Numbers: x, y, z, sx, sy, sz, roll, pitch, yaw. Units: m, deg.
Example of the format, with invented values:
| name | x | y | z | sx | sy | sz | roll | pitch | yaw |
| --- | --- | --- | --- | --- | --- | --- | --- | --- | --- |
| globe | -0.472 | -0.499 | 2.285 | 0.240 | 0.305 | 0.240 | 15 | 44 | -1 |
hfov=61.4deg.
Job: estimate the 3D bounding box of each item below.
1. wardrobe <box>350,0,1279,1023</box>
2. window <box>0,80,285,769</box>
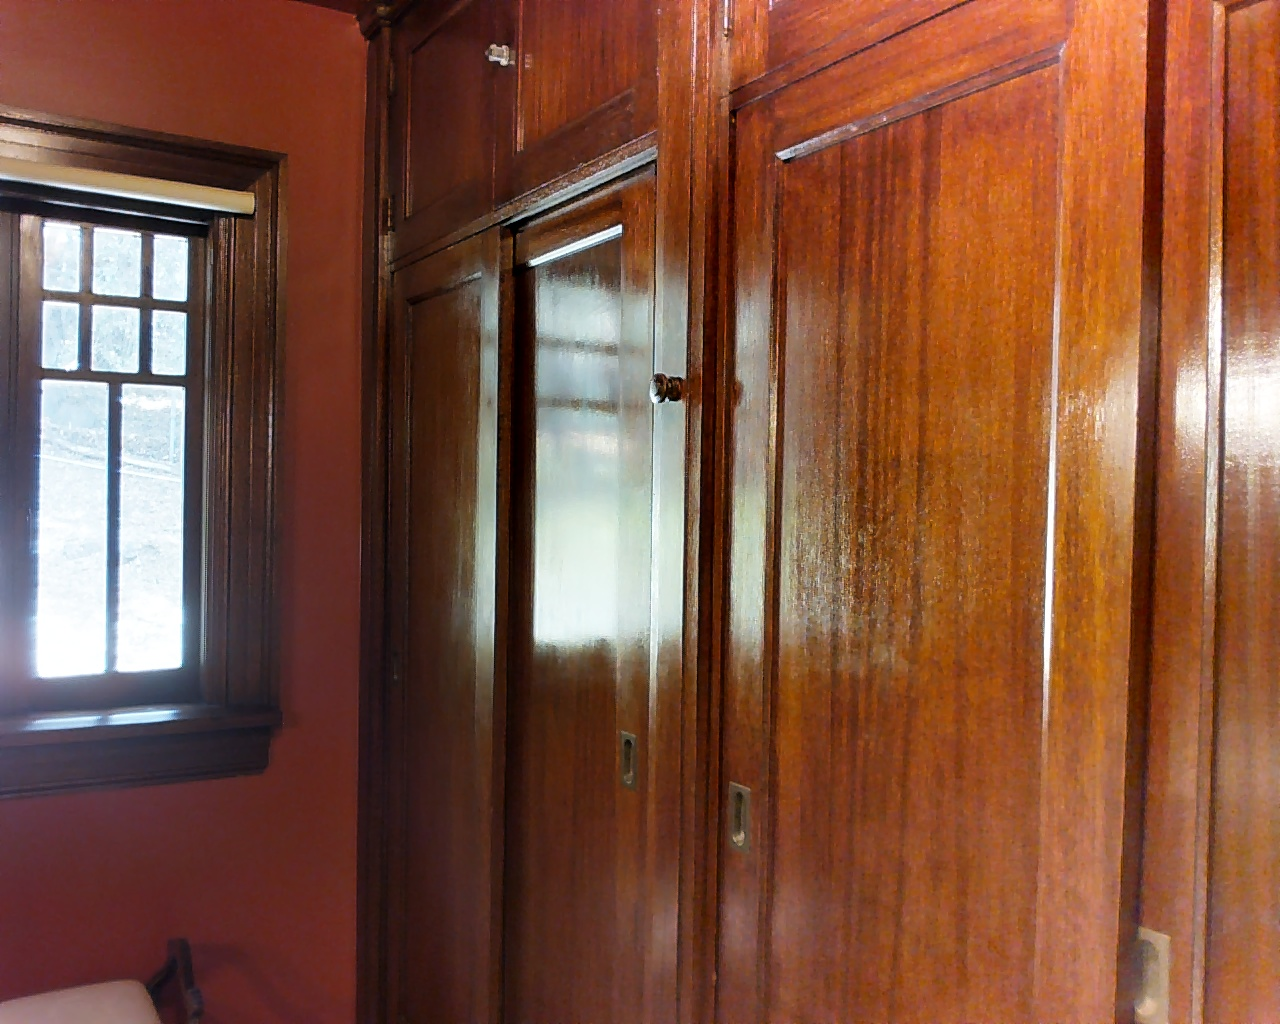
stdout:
| name | x | y | z | sx | sy | sz | roll | pitch | yaw |
| --- | --- | --- | --- | --- | --- | --- | --- | --- | --- |
| wardrobe | 0.370 | 0.250 | 0.870 | 0.110 | 2.570 | 3.690 | 0 | 1 | -32 |
| window | -1.220 | -0.160 | 2.080 | 0.990 | 1.270 | 0.200 | 0 | 1 | -32 |
